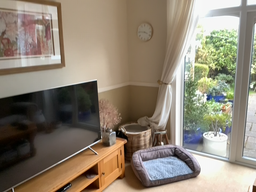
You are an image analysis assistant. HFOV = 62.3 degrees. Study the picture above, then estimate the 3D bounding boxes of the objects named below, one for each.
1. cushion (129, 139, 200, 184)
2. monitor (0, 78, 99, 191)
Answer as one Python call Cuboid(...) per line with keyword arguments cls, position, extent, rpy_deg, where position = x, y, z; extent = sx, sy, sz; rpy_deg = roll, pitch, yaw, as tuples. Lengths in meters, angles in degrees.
Cuboid(cls="cushion", position=(0.440, 0.830, 2.800), extent=(0.750, 0.200, 0.620), rpy_deg=(-4, 13, -11))
Cuboid(cls="monitor", position=(-0.710, 0.290, 1.910), extent=(0.070, 0.750, 1.210), rpy_deg=(6, 14, 33))
